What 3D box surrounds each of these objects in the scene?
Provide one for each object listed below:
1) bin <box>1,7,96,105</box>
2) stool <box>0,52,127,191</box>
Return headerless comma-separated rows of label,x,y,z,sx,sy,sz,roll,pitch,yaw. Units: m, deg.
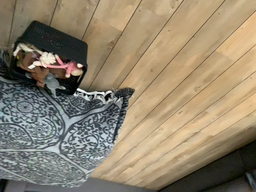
bin,-0.440,-0.200,1.190,0.390,0.240,0.360,19,135,-22
stool,-0.630,0.300,1.590,0.900,0.440,0.920,20,134,-22
